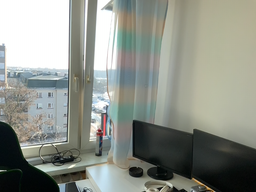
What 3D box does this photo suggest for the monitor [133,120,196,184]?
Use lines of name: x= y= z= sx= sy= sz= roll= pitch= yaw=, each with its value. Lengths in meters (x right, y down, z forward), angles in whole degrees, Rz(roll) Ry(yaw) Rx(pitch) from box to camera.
monitor: x=0.240 y=0.390 z=1.550 sx=0.480 sy=0.310 sz=0.040 roll=14 pitch=16 yaw=40

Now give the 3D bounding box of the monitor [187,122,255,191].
monitor: x=0.580 y=0.420 z=1.080 sx=0.040 sy=0.390 sz=0.680 roll=-2 pitch=12 yaw=-29
